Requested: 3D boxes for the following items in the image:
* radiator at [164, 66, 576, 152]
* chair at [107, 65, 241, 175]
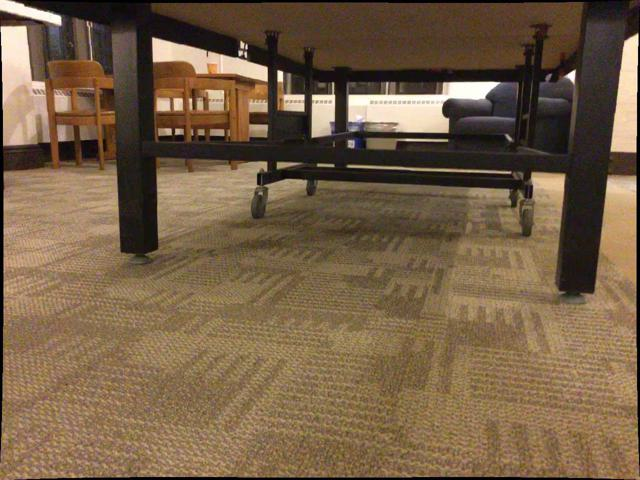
[{"bbox_3d":[0.380,-1.391,6.310,4.387,0.741,0.440,2,13,16],"label":"radiator"},{"bbox_3d":[-1.079,-0.921,4.420,0.739,0.741,0.730,-1,13,6],"label":"chair"}]
